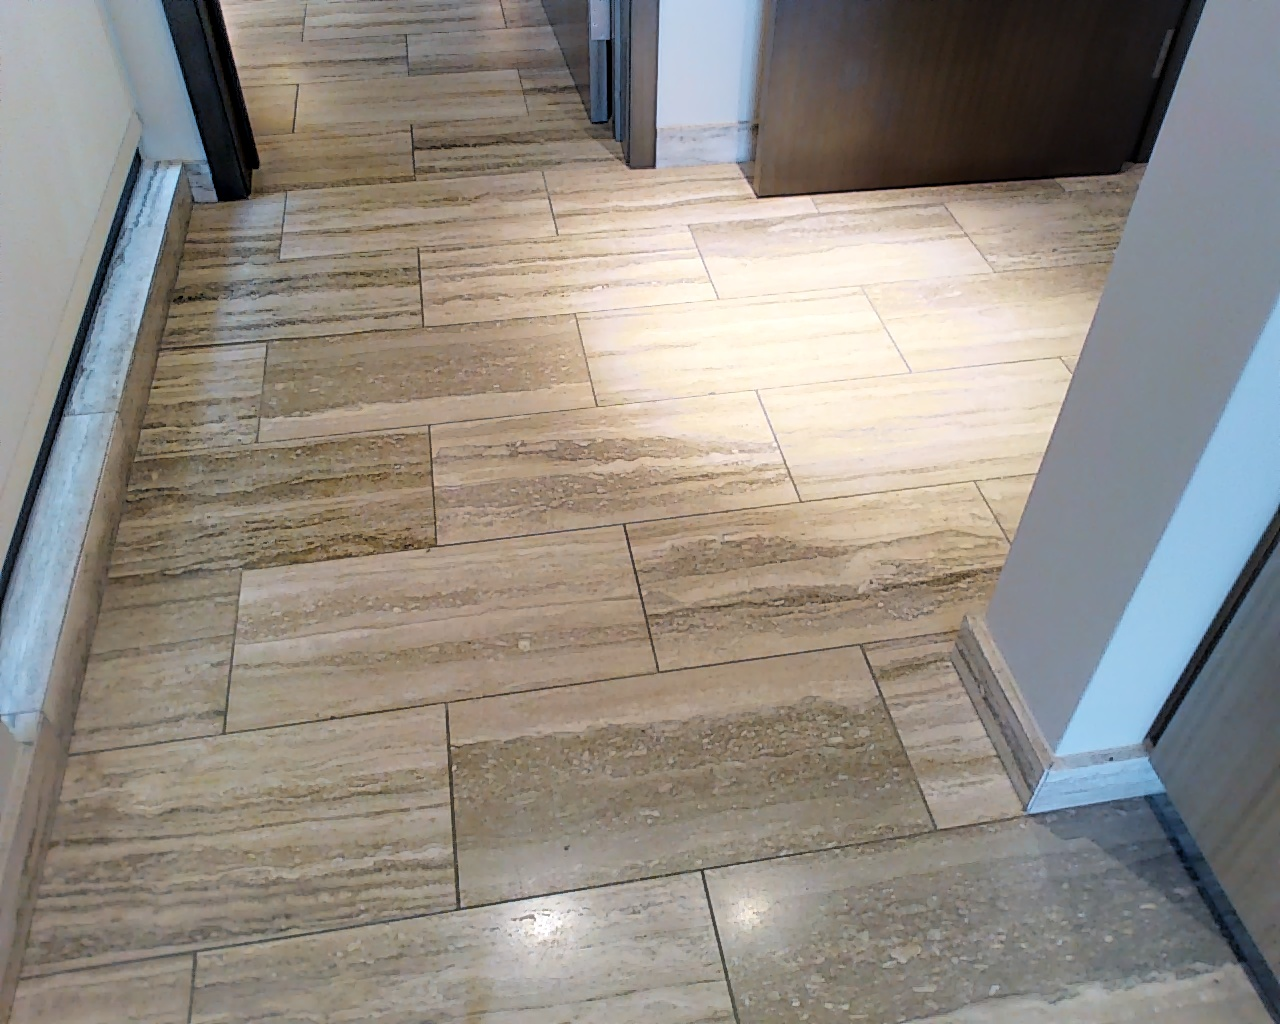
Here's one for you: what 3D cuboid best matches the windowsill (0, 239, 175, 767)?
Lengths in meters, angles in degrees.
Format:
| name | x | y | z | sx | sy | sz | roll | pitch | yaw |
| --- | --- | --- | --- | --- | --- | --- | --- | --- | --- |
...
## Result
| name | x | y | z | sx | sy | sz | roll | pitch | yaw |
| --- | --- | --- | --- | --- | --- | --- | --- | --- | --- |
| windowsill | -0.900 | -0.120 | 1.790 | 0.080 | 0.020 | 1.250 | -7 | 45 | -7 |
